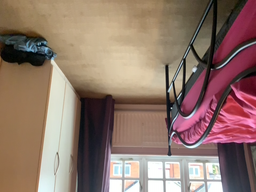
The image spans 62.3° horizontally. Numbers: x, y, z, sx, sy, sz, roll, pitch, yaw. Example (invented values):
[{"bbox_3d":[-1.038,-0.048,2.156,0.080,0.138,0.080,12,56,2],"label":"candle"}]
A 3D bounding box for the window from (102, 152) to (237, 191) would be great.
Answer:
[{"bbox_3d":[0.590,1.440,3.070,1.920,1.210,0.160,1,162,0],"label":"window"}]
